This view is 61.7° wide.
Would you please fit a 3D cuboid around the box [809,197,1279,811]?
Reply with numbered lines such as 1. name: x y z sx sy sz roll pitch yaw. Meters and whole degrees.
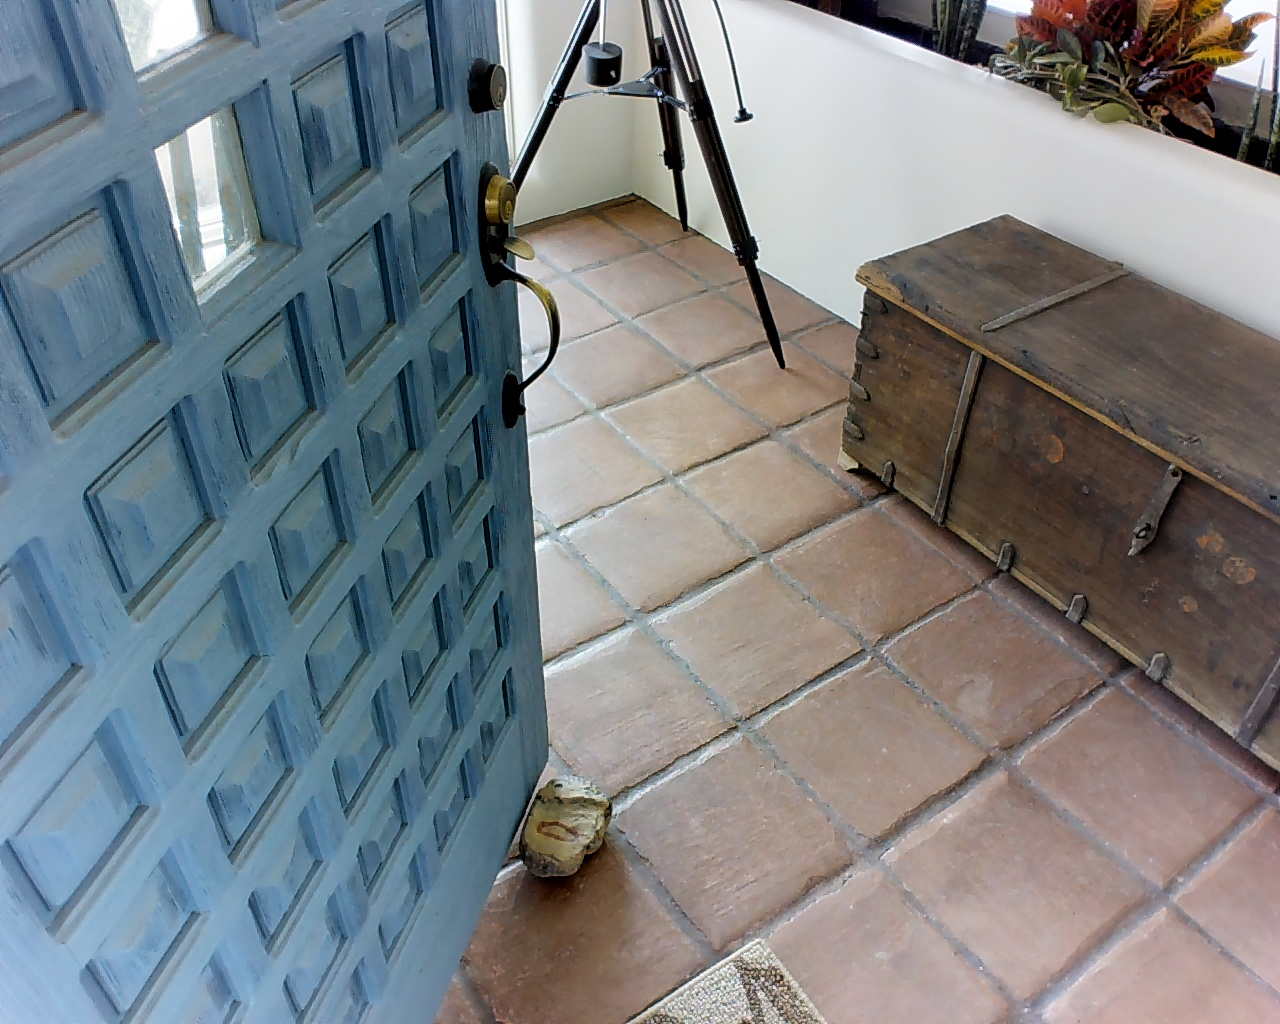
1. box: 1.000 -0.040 1.970 0.530 0.500 1.370 -24 46 -27

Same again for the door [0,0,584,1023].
1. door: -0.240 -0.130 0.770 0.070 2.140 0.970 11 41 11
